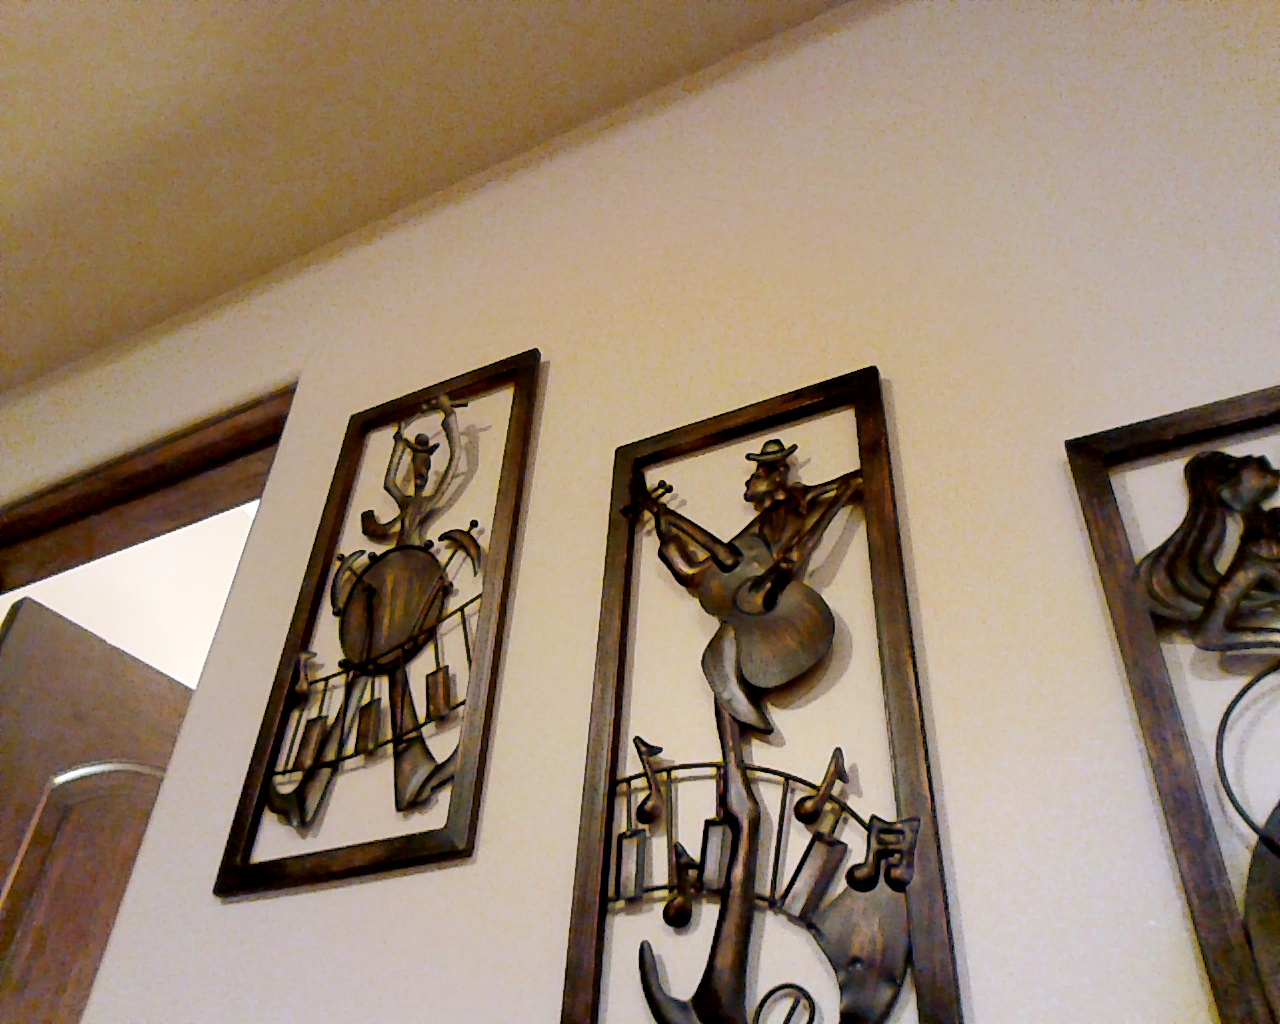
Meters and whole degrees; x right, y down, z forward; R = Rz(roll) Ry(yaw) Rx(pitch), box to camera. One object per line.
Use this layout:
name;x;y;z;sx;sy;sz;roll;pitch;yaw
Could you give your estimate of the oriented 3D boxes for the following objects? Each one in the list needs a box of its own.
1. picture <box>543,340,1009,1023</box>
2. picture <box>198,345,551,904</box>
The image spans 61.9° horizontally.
picture;0.070;0.110;0.700;0.250;0.520;0.030;-17;-44;21
picture;-0.210;0.070;0.930;0.240;0.500;0.030;-17;-44;21
